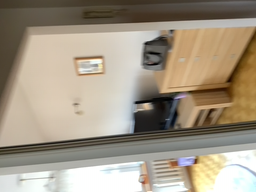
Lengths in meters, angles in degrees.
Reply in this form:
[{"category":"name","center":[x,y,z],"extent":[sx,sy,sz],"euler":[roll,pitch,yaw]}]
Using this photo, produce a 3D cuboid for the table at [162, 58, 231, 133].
[{"category":"table","center":[0.940,0.000,3.150],"extent":[0.830,0.570,0.710],"euler":[94,169,-48]}]
